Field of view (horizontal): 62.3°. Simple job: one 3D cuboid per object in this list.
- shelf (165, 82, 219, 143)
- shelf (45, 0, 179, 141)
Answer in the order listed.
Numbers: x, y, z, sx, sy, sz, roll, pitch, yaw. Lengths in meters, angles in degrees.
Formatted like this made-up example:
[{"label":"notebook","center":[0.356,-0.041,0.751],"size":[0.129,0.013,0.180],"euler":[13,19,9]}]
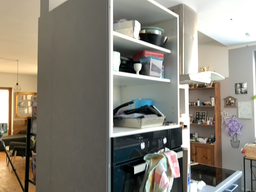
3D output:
[{"label":"shelf","center":[1.270,0.320,4.370],"size":[1.080,1.120,0.200],"euler":[-2,-2,43]},{"label":"shelf","center":[-0.080,-0.170,1.340],"size":[0.540,0.750,0.650],"euler":[-1,-2,42]}]
